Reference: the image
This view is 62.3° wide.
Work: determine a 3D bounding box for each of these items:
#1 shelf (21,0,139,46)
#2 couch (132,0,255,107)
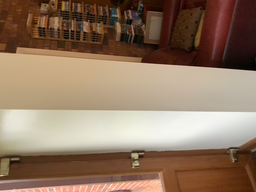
[{"bbox_3d":[-0.570,-0.990,2.730,0.170,1.360,0.620,114,154,-54],"label":"shelf"},{"bbox_3d":[0.600,-0.630,2.090,1.090,0.750,1.140,-125,39,-66],"label":"couch"}]
